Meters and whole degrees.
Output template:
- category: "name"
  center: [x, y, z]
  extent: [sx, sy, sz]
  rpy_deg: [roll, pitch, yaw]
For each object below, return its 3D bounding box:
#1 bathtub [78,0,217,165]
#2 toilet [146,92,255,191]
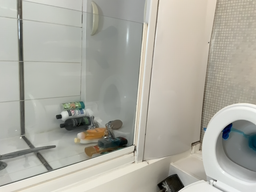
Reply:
- category: "bathtub"
  center: [0.110, -0.520, 1.460]
  extent: [0.710, 0.580, 1.660]
  rpy_deg: [18, 108, 47]
- category: "toilet"
  center: [0.490, 0.360, 0.990]
  extent: [0.370, 0.770, 0.660]
  rpy_deg: [15, 106, 48]
